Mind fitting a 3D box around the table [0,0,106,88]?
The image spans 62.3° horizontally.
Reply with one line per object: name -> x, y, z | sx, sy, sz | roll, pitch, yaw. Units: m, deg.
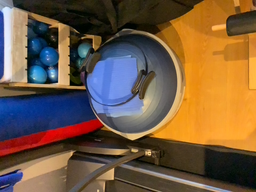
table -> -0.510, -0.280, 1.420 | 0.310, 0.730, 0.420 | 2, 90, 36
